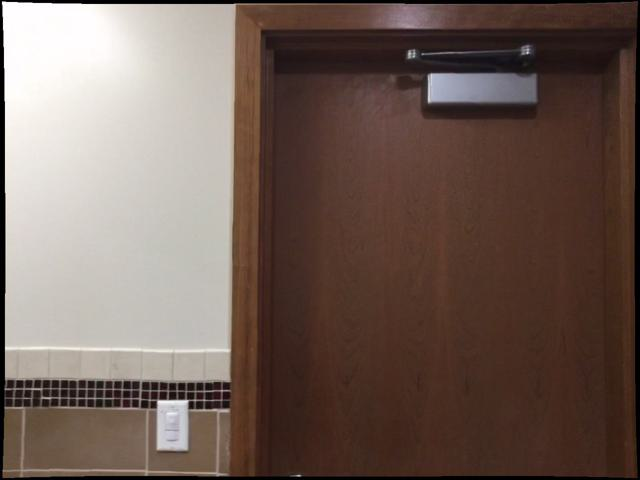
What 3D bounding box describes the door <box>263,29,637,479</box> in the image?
[{"bbox_3d":[0.330,0.521,1.490,0.899,2.072,0.100,-1,-1,2],"label":"door"}]
